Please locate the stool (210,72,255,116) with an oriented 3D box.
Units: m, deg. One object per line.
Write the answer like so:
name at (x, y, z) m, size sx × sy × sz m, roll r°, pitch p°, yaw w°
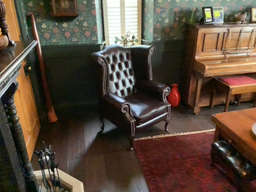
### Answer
stool at (1.600, -0.040, 3.130) m, size 0.580 × 0.510 × 0.350 m, roll -5°, pitch 25°, yaw -9°
